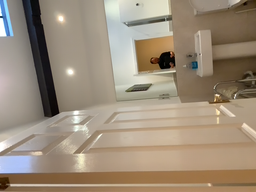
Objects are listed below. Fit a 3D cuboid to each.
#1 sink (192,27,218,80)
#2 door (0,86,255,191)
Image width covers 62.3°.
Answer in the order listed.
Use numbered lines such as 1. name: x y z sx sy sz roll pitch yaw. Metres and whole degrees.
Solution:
1. sink: 0.930 -0.510 2.590 0.440 0.190 0.560 -48 -48 -76
2. door: 0.490 0.090 0.900 0.950 2.040 0.070 -52 -43 -75
